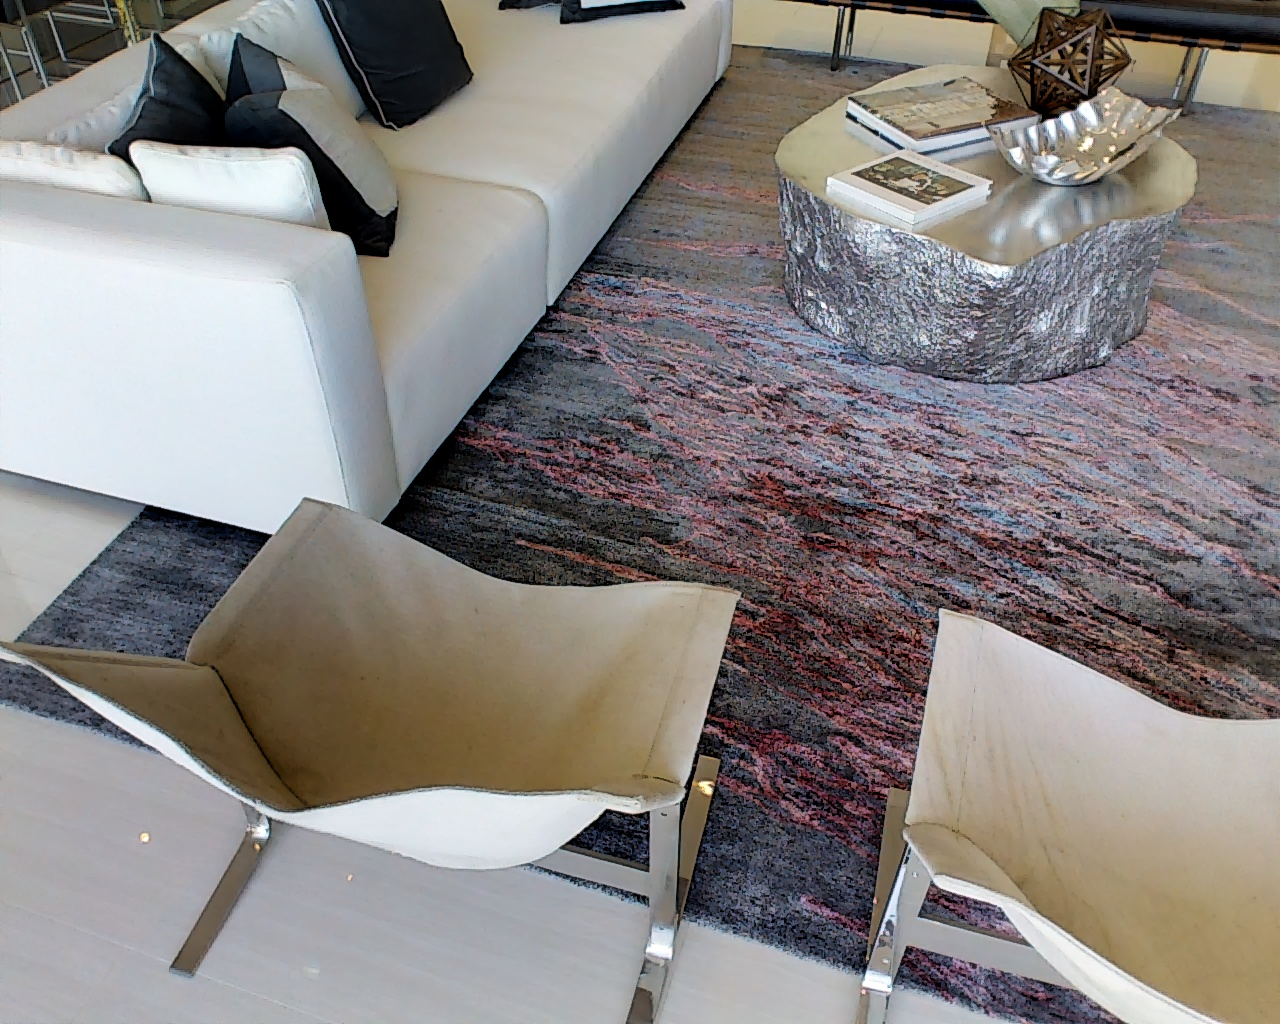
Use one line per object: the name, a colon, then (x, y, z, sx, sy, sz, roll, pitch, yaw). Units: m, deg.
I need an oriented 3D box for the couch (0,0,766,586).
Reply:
couch: (-0.560, -1.220, 3.190, 1.180, 0.700, 3.110, 13, 43, 13)

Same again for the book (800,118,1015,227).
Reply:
book: (0.640, -0.830, 2.600, 0.320, 0.050, 0.390, -26, 48, -26)

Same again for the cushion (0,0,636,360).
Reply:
cushion: (-0.690, -1.120, 2.690, 0.820, 0.430, 1.820, 13, 43, 13)
